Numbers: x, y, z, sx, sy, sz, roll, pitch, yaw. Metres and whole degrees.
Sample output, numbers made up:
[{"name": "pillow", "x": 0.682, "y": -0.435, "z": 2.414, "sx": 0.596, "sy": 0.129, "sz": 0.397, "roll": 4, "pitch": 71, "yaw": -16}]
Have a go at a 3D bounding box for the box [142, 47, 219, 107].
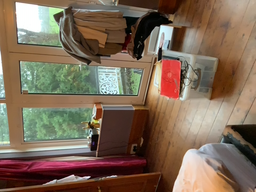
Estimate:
[{"name": "box", "x": 0.500, "y": -0.230, "z": 2.240, "sx": 0.700, "sy": 0.400, "sz": 0.470, "roll": -136, "pitch": 49, "yaw": -63}]
